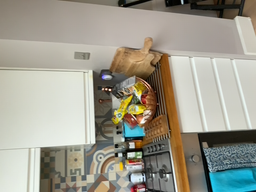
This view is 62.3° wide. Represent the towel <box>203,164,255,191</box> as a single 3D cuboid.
[{"bbox_3d":[0.580,0.460,1.140,0.090,0.310,0.150,130,138,-66],"label":"towel"}]

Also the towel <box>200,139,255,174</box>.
[{"bbox_3d":[0.610,0.340,1.210,0.070,0.380,0.160,132,136,-67],"label":"towel"}]
